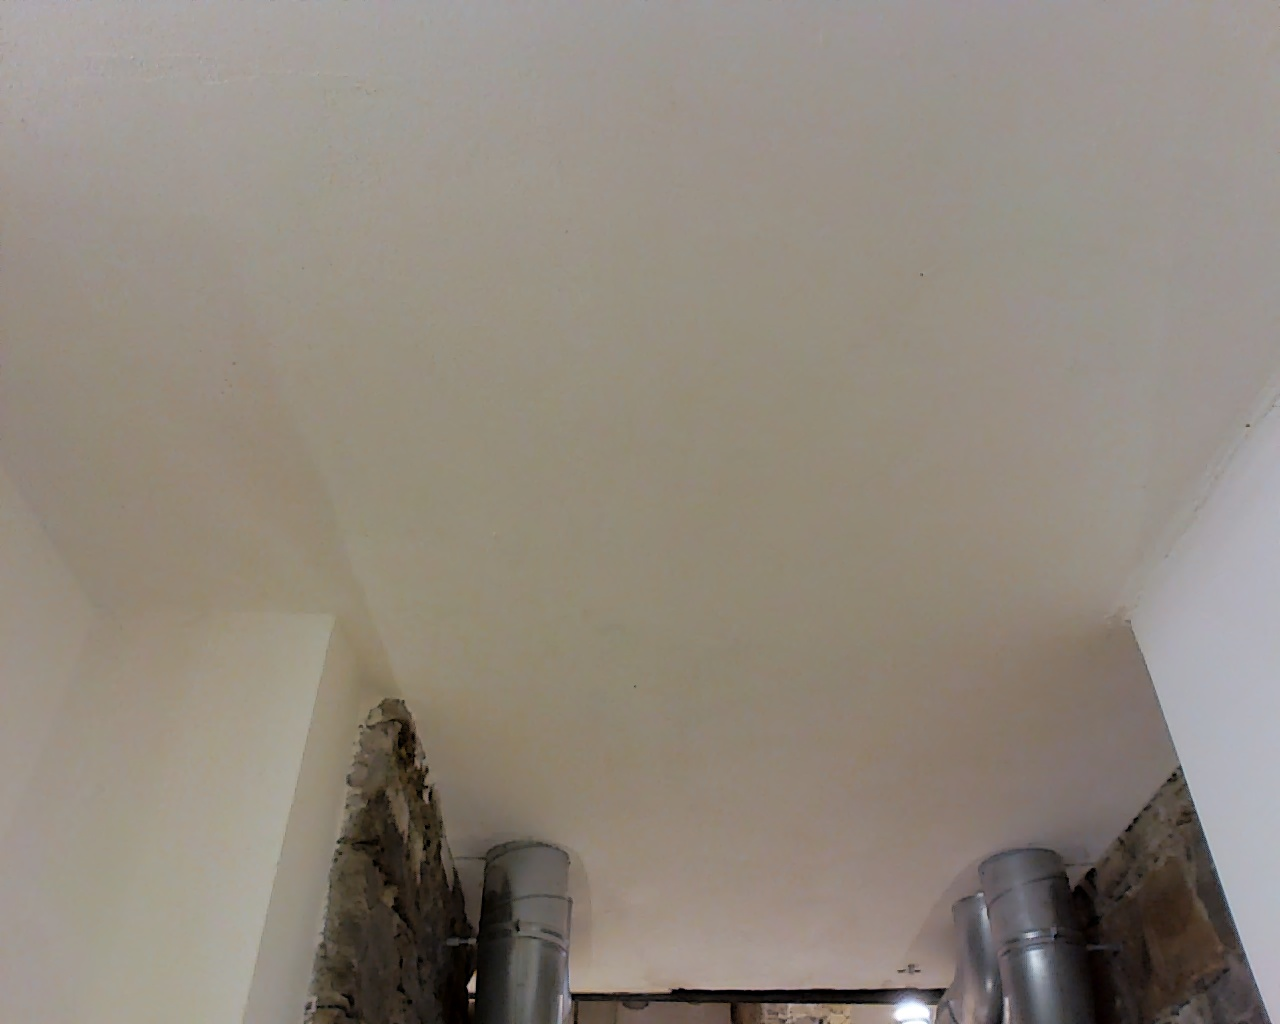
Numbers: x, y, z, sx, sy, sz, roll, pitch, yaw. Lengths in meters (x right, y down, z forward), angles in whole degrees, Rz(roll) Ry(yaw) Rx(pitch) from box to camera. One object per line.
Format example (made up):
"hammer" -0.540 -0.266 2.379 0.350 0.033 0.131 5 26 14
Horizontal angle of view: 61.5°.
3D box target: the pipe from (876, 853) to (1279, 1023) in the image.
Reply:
"pipe" 1.100 1.400 2.800 0.670 0.560 1.140 2 -41 -1
